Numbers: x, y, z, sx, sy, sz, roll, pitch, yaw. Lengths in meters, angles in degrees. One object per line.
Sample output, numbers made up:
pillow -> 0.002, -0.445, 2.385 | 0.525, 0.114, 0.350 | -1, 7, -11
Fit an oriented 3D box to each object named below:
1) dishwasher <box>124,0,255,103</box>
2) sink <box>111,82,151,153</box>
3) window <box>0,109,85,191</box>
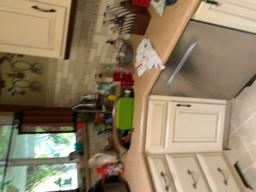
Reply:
dishwasher -> 0.550, -0.400, 1.680 | 0.610, 0.920, 0.630 | 115, 151, -43
sink -> 0.010, 0.170, 1.930 | 0.470, 0.170, 0.560 | -177, 90, -69
window -> -0.910, 0.520, 1.970 | 0.110, 0.930, 0.930 | 114, 151, -41
